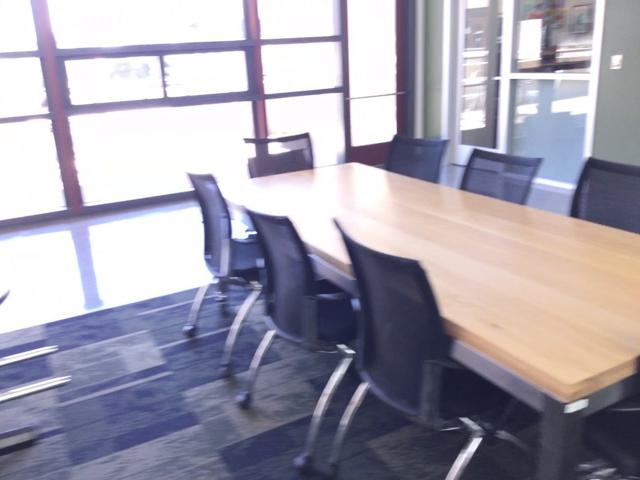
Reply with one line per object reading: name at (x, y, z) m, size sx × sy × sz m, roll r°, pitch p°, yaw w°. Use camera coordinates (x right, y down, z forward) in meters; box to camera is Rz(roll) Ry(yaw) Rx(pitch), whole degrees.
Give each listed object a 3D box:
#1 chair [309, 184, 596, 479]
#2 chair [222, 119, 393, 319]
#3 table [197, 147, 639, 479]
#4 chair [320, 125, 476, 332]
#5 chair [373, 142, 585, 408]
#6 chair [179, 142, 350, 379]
chair at (0.380, 0.360, 1.790) m, size 0.560 × 0.890 × 0.570 m, roll -14°, pitch 21°, yaw -23°
chair at (-0.070, -0.170, 3.470) m, size 0.750 × 0.950 × 0.630 m, roll -14°, pitch 21°, yaw -23°
table at (0.400, 0.240, 2.420) m, size 1.080 × 0.780 × 2.500 m, roll -14°, pitch 21°, yaw -23°
chair at (0.420, -0.100, 3.130) m, size 0.560 × 0.900 × 0.600 m, roll -14°, pitch 21°, yaw -23°
chair at (0.670, 0.100, 2.560) m, size 0.570 × 0.910 × 0.640 m, roll -14°, pitch 21°, yaw -23°
chair at (-0.270, 0.060, 2.840) m, size 0.560 × 0.930 × 0.580 m, roll -14°, pitch 21°, yaw -23°
